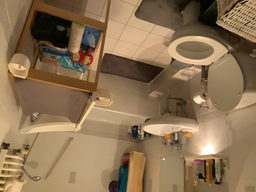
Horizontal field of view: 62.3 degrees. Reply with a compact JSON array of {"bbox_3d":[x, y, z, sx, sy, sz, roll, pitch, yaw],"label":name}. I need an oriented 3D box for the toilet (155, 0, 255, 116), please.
[{"bbox_3d":[0.620,-0.330,1.690,0.650,0.800,0.420,13,157,-17],"label":"toilet"}]
